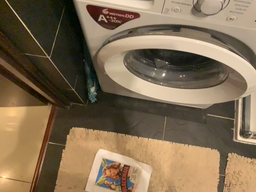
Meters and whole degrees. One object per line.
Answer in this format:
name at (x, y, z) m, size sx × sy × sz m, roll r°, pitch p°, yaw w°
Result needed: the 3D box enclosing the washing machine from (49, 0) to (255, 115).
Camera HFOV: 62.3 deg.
washing machine at (0.170, -0.360, 0.880) m, size 0.590 × 0.840 × 0.640 m, roll 12°, pitch 76°, yaw 1°
